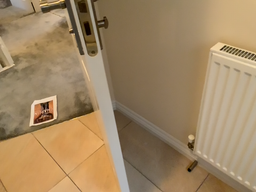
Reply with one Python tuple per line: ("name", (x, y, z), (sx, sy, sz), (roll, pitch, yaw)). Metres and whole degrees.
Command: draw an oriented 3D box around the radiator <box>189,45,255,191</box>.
("radiator", (0.470, 0.170, 0.750), (0.040, 0.590, 0.500), (-34, 48, -27))
